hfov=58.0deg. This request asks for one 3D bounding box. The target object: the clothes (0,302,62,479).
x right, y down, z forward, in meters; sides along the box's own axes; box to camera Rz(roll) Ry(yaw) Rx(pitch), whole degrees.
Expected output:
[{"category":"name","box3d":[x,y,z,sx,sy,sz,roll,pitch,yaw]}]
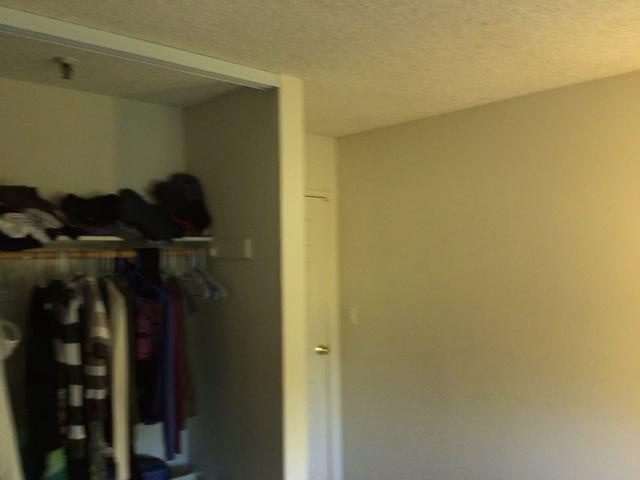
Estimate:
[{"category":"clothes","box3d":[-1.230,0.620,2.270,0.290,0.720,0.410,1,-7,-38]}]

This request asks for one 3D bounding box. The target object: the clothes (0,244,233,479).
[{"category":"clothes","box3d":[-1.100,0.780,2.470,1.220,1.450,0.700,1,-7,-38]}]

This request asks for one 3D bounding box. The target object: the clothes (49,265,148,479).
[{"category":"clothes","box3d":[-0.990,0.610,2.540,0.230,0.950,0.560,1,-7,-38]}]
